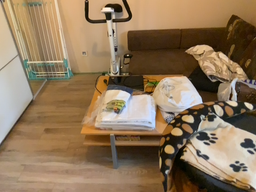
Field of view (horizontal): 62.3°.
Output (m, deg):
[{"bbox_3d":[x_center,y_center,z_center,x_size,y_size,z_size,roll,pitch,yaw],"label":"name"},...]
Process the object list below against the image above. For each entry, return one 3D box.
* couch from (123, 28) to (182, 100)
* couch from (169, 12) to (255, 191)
[{"bbox_3d":[0.280,-0.420,2.670,0.610,0.630,0.730,0,34,3],"label":"couch"},{"bbox_3d":[1.010,-0.140,2.040,0.910,0.810,2.040,0,34,3],"label":"couch"}]
